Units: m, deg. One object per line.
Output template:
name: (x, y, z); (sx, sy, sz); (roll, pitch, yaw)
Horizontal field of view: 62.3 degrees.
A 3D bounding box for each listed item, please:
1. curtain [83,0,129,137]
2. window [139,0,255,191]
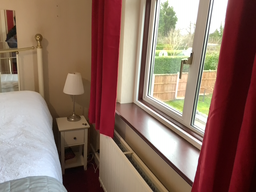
curtain: (-0.170, -0.690, 1.530); (0.170, 1.930, 0.470); (-4, 18, -26)
window: (0.400, -0.310, 1.290); (0.080, 1.550, 1.050); (-4, 18, -24)
